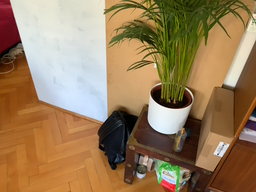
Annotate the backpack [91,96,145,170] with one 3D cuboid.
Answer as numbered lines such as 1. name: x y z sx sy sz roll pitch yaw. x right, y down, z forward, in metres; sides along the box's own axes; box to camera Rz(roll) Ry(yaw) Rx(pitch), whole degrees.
1. backpack: -0.070 0.280 1.620 0.280 0.390 0.320 16 41 13

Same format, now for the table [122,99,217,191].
1. table: 0.280 0.380 1.500 0.510 0.450 0.410 16 41 14
